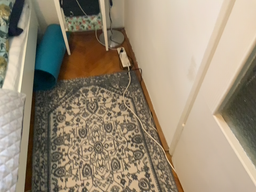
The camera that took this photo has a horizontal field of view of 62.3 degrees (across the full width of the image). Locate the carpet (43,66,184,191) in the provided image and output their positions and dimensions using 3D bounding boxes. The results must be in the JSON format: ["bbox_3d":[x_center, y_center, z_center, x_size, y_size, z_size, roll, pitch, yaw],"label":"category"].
[{"bbox_3d":[-0.150,0.320,1.400,0.780,0.030,1.340,-9,52,-9],"label":"carpet"}]

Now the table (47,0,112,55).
[{"bbox_3d":[-0.400,-0.770,1.820,0.460,0.700,0.380,-7,52,-8],"label":"table"}]
